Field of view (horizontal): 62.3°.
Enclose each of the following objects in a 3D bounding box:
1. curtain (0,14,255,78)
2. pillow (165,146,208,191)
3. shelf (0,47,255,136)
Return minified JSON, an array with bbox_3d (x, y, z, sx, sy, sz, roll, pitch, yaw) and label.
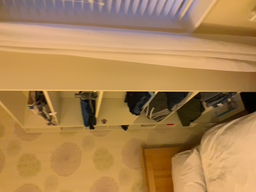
[{"bbox_3d":[0.070,-0.250,1.220,0.320,2.250,0.140,119,148,-65],"label":"curtain"},{"bbox_3d":[0.520,0.800,1.860,0.370,0.150,0.630,116,151,-62],"label":"pillow"},{"bbox_3d":[0.060,0.040,1.820,1.010,2.080,0.300,119,148,-65],"label":"shelf"}]
